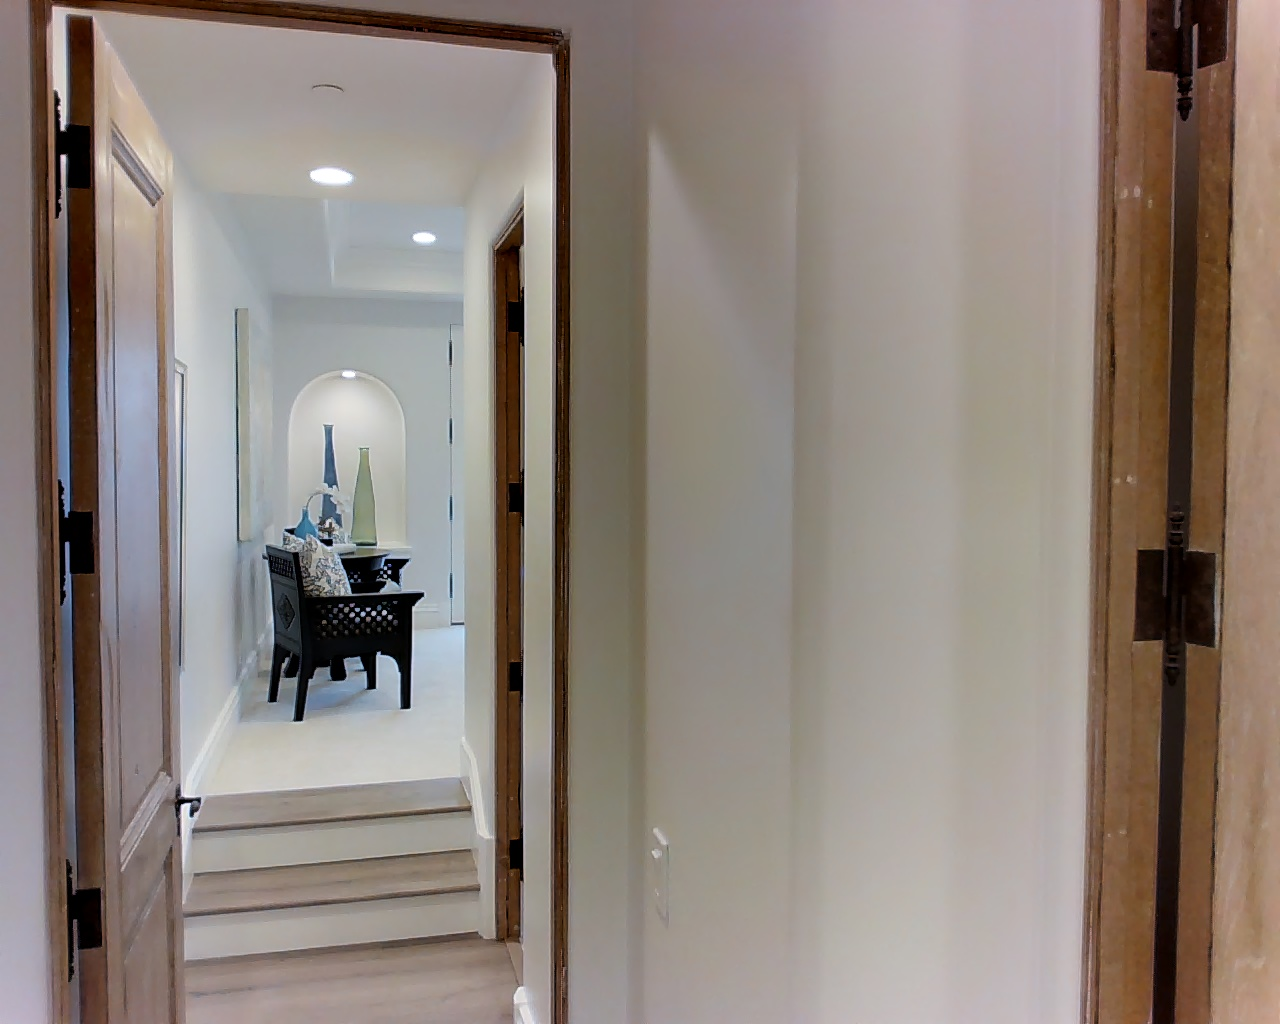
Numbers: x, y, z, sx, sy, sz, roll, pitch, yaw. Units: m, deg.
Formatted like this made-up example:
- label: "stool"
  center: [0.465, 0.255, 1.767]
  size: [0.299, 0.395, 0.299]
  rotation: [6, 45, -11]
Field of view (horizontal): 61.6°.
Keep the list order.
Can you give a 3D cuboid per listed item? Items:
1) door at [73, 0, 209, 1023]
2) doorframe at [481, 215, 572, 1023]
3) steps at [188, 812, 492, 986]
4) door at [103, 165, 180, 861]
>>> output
- label: "door"
  center: [-0.980, 0.390, 2.180]
  size: [0.050, 2.471, 0.810]
  rotation: [-1, 3, -14]
- label: "doorframe"
  center: [-0.370, 0.380, 3.370]
  size: [0.130, 2.391, 0.890]
  rotation: [-1, 3, -15]
- label: "steps"
  center: [-1.060, 1.370, 3.870]
  size: [1.000, 0.370, 0.390]
  rotation: [-1, 3, -15]
- label: "door"
  center: [-0.990, 0.000, 2.150]
  size: [0.020, 1.240, 0.490]
  rotation: [-1, 3, -14]
